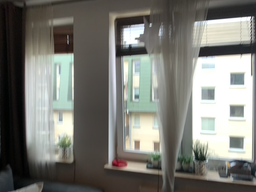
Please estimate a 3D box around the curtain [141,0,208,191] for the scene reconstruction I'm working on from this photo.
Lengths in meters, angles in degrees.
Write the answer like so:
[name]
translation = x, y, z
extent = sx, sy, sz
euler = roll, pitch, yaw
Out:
[curtain]
translation = 0.410, -0.180, 1.870
extent = 0.540, 1.860, 0.230
euler = 1, 1, 22
